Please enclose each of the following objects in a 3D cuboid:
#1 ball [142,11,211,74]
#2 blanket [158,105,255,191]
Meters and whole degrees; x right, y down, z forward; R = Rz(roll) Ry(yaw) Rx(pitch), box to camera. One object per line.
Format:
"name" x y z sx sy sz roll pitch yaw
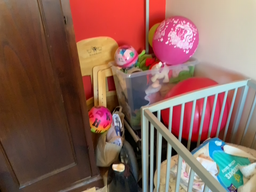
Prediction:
"ball" 0.320 -0.410 1.540 0.280 0.310 0.430 -13 32 -18
"blanket" 0.560 0.400 0.890 0.600 0.310 0.660 -14 32 -19
